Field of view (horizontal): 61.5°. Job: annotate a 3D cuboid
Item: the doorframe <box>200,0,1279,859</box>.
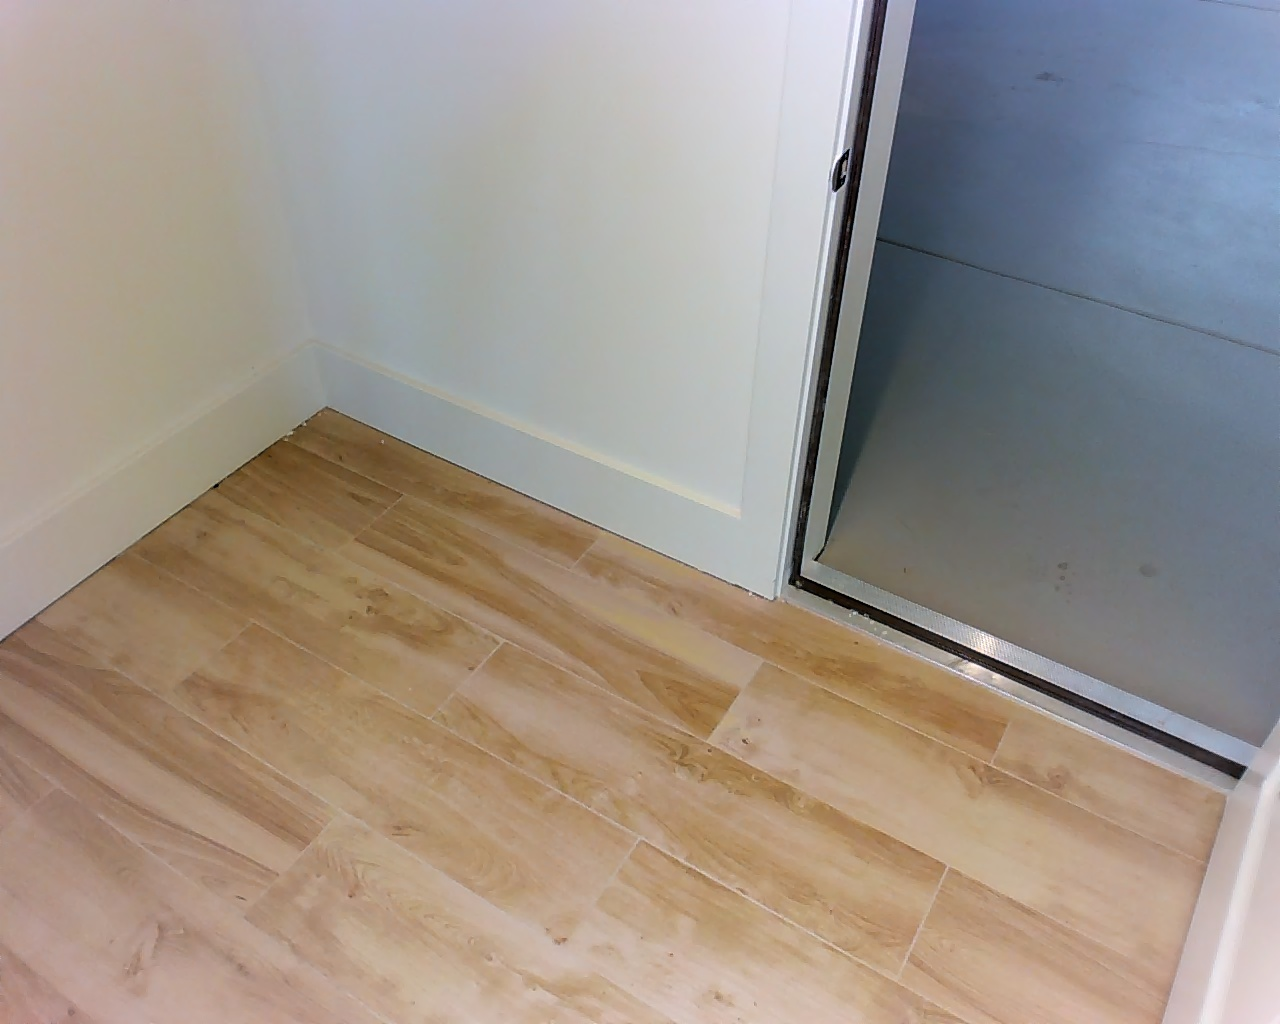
[{"bbox_3d":[0.200,-0.860,1.280,2.330,2.760,0.090,23,47,23],"label":"doorframe"}]
